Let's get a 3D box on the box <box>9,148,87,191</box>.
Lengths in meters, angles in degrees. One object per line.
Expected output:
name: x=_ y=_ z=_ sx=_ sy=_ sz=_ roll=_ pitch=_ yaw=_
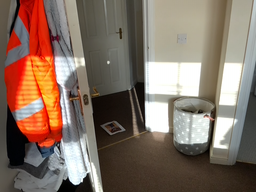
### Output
box: x=-0.570 y=0.680 z=1.600 sx=0.360 sy=0.390 sz=0.330 roll=5 pitch=25 yaw=18
